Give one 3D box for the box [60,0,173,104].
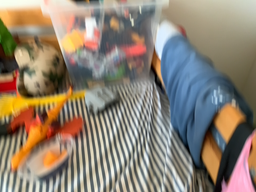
[{"bbox_3d":[-0.070,-0.230,0.960,0.390,0.360,0.330,-7,40,-11],"label":"box"}]
